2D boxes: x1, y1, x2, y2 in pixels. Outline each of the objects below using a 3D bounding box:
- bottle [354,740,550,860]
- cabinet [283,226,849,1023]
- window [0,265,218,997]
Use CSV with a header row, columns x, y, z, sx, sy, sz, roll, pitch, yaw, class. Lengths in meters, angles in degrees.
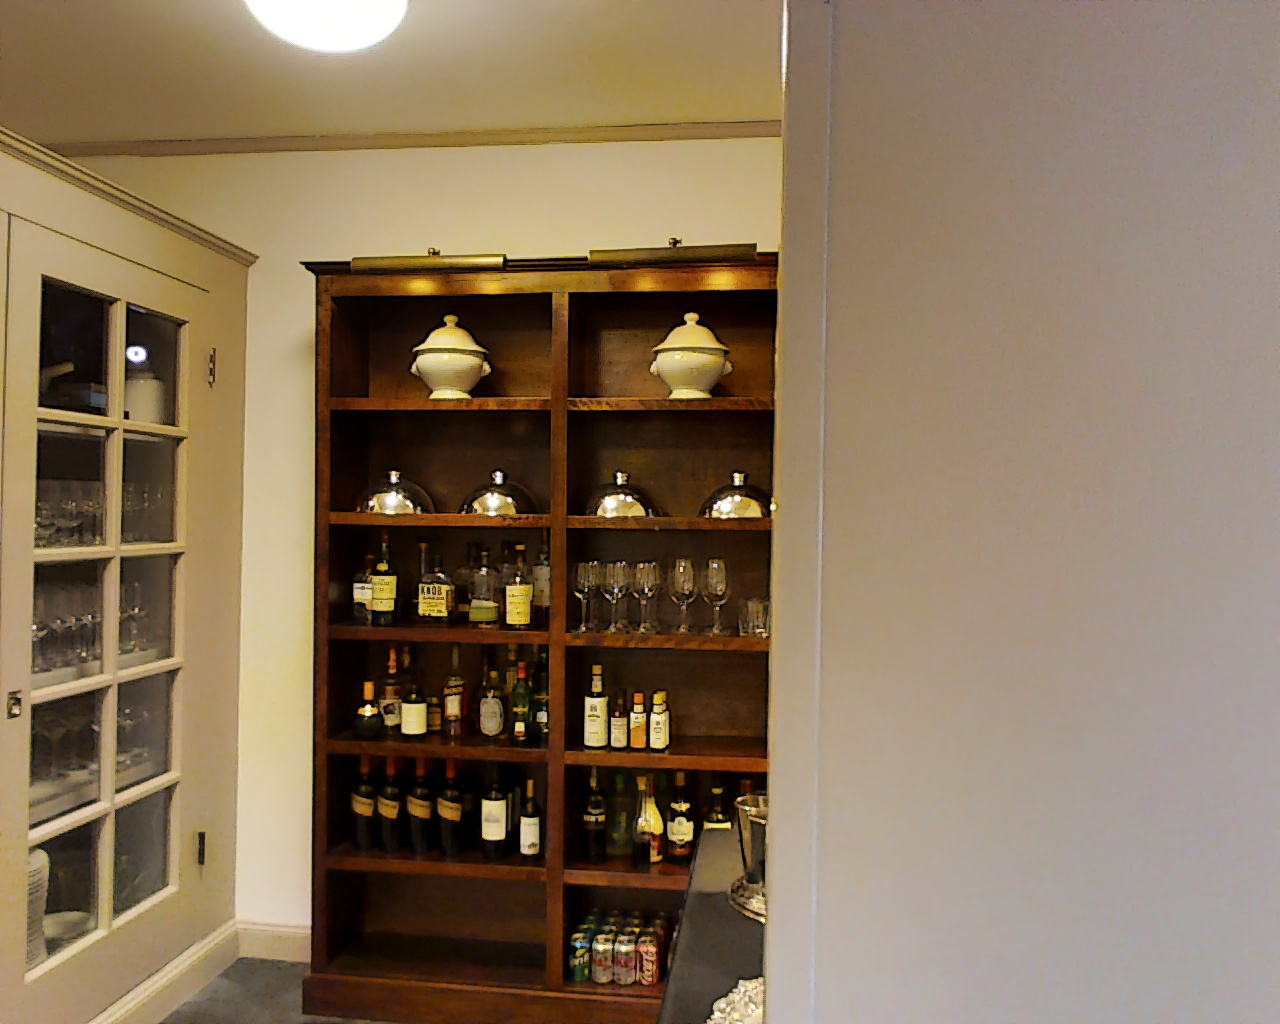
x,y,z,sx,sy,sz,roll,pitch,yaw,class
-0.580,0.890,3.350,0.560,0.290,0.210,1,0,7,bottle
-0.220,0.350,3.310,1.630,2.340,0.370,1,0,8,cabinet
-1.520,0.290,3.010,0.260,1.790,0.740,1,0,8,window
